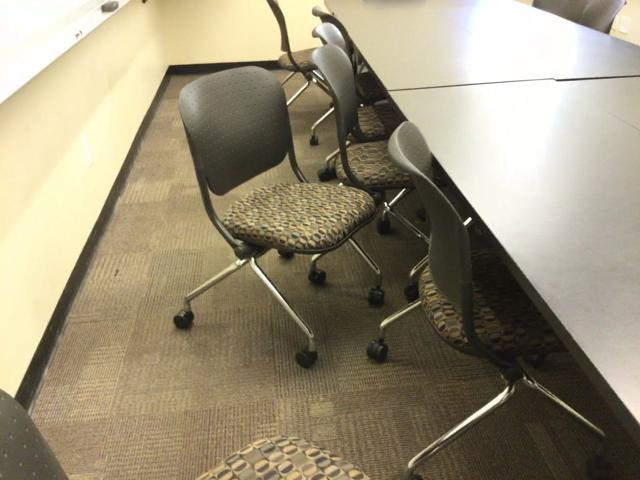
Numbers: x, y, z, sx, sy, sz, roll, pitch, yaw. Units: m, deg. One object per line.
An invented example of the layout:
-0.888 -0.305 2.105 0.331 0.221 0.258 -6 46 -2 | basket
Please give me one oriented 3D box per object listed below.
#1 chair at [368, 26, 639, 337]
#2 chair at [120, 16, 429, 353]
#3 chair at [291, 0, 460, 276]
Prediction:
0.380 -0.160 1.400 0.430 0.560 0.470 -7 31 -2 | chair
-0.100 -0.240 1.970 0.740 0.870 0.580 16 37 32 | chair
0.190 -0.420 2.240 0.480 0.830 0.670 -7 31 -2 | chair
